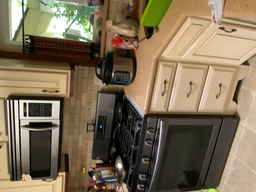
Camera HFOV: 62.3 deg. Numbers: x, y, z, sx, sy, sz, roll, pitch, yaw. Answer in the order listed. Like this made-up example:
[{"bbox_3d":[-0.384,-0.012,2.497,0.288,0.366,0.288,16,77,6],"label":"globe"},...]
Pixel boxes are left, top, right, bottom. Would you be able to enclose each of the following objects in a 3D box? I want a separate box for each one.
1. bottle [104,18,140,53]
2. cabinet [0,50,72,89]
[{"bbox_3d":[-0.060,-0.540,1.890,0.200,0.240,0.260,-130,46,-64],"label":"bottle"},{"bbox_3d":[-0.950,-0.230,1.700,0.350,0.950,0.210,-130,46,-64],"label":"cabinet"}]
